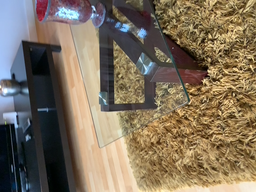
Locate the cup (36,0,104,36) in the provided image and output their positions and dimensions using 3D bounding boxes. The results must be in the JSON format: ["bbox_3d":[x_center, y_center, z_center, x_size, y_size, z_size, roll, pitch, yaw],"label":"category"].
[{"bbox_3d":[-0.230,-0.370,0.810,0.190,0.170,0.160,-38,62,44],"label":"cup"}]

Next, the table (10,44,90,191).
[{"bbox_3d":[-0.760,0.340,1.940,0.610,0.340,1.470,-35,65,45],"label":"table"}]

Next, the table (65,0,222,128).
[{"bbox_3d":[-0.020,-0.370,1.020,0.480,0.290,0.910,-36,63,45],"label":"table"}]
